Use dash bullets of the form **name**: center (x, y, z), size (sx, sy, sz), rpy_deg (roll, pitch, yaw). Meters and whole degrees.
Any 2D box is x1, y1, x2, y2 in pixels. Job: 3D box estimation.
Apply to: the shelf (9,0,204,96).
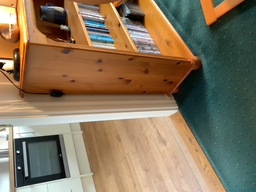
- **shelf**: center (-0.190, -0.480, 1.340), size (0.360, 0.940, 0.930), rpy_deg (-57, 45, 42)
